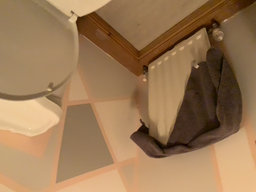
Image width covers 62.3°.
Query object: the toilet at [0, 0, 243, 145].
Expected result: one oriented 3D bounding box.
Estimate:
[{"bbox_3d":[-0.200,-0.390,0.660,0.690,0.800,0.470,-28,132,34],"label":"toilet"}]
